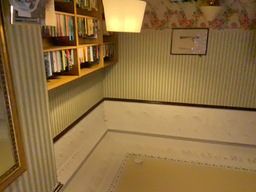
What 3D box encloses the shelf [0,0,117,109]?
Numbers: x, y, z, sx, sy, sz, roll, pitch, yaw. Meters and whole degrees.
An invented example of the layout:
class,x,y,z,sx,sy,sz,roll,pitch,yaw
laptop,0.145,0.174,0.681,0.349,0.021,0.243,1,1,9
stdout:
class,x,y,z,sx,sy,sz,roll,pitch,yaw
shelf,-0.610,-1.250,2.490,0.330,2.090,2.380,4,-162,12
